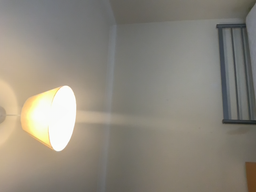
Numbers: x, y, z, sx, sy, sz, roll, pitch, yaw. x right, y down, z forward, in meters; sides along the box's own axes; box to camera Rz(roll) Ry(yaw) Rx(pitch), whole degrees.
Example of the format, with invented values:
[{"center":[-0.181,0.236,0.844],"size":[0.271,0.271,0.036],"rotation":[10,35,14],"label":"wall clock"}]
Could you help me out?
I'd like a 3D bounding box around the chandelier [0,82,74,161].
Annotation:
[{"center":[-0.480,0.090,1.010],"size":[0.340,0.320,0.290],"rotation":[-43,133,-79],"label":"chandelier"}]
